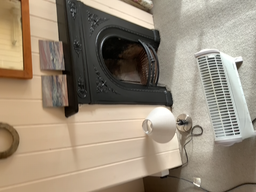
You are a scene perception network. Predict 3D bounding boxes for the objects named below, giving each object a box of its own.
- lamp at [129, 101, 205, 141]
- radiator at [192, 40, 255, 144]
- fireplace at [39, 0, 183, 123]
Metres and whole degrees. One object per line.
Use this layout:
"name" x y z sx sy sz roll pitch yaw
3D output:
"lamp" 0.290 0.180 1.550 0.290 0.480 0.240 -14 78 46
"radiator" 0.610 -0.020 1.290 0.130 0.390 0.550 -22 72 44
"fireplace" -0.090 -0.290 1.590 0.350 0.960 0.880 -20 74 45
